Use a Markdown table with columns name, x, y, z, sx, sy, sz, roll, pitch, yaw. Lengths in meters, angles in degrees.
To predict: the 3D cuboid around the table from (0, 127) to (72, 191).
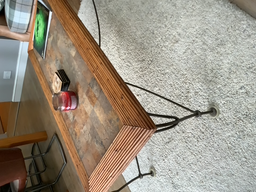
| name | x | y | z | sx | sy | sz | roll | pitch | yaw |
| --- | --- | --- | --- | --- | --- | --- | --- | --- | --- |
| table | -1.480 | 1.390 | 2.740 | 0.930 | 0.760 | 1.890 | 57 | 133 | 28 |

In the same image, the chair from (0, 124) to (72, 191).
| name | x | y | z | sx | sy | sz | roll | pitch | yaw |
| --- | --- | --- | --- | --- | --- | --- | --- | --- | --- |
| chair | -1.160 | 0.730 | 2.190 | 0.470 | 0.880 | 0.600 | 58 | 134 | 27 |
